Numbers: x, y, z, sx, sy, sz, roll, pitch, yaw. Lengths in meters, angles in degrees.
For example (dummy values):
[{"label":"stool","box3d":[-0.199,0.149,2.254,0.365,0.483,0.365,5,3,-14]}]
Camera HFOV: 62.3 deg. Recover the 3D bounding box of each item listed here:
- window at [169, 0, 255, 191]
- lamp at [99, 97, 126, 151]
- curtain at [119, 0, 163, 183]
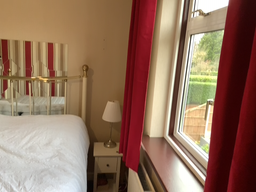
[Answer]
[{"label":"window","box3d":[0.500,-0.150,1.120,0.080,1.340,0.990,3,11,-10]},{"label":"lamp","box3d":[-0.190,0.310,2.420,0.260,0.540,0.270,3,11,-9]},{"label":"curtain","box3d":[0.090,-0.360,1.620,0.180,1.940,0.510,4,11,-4]}]
